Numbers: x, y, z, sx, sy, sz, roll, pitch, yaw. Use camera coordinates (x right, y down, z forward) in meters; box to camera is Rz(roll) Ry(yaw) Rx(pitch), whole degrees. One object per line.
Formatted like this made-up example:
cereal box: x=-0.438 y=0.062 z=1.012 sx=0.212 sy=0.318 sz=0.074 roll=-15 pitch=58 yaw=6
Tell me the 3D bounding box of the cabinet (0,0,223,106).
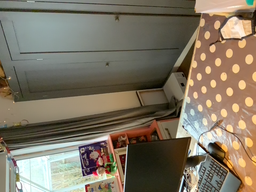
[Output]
cabinet: x=-0.190 y=-0.630 z=2.000 sx=1.780 sy=1.920 sz=0.310 roll=111 pitch=147 yaw=-52
